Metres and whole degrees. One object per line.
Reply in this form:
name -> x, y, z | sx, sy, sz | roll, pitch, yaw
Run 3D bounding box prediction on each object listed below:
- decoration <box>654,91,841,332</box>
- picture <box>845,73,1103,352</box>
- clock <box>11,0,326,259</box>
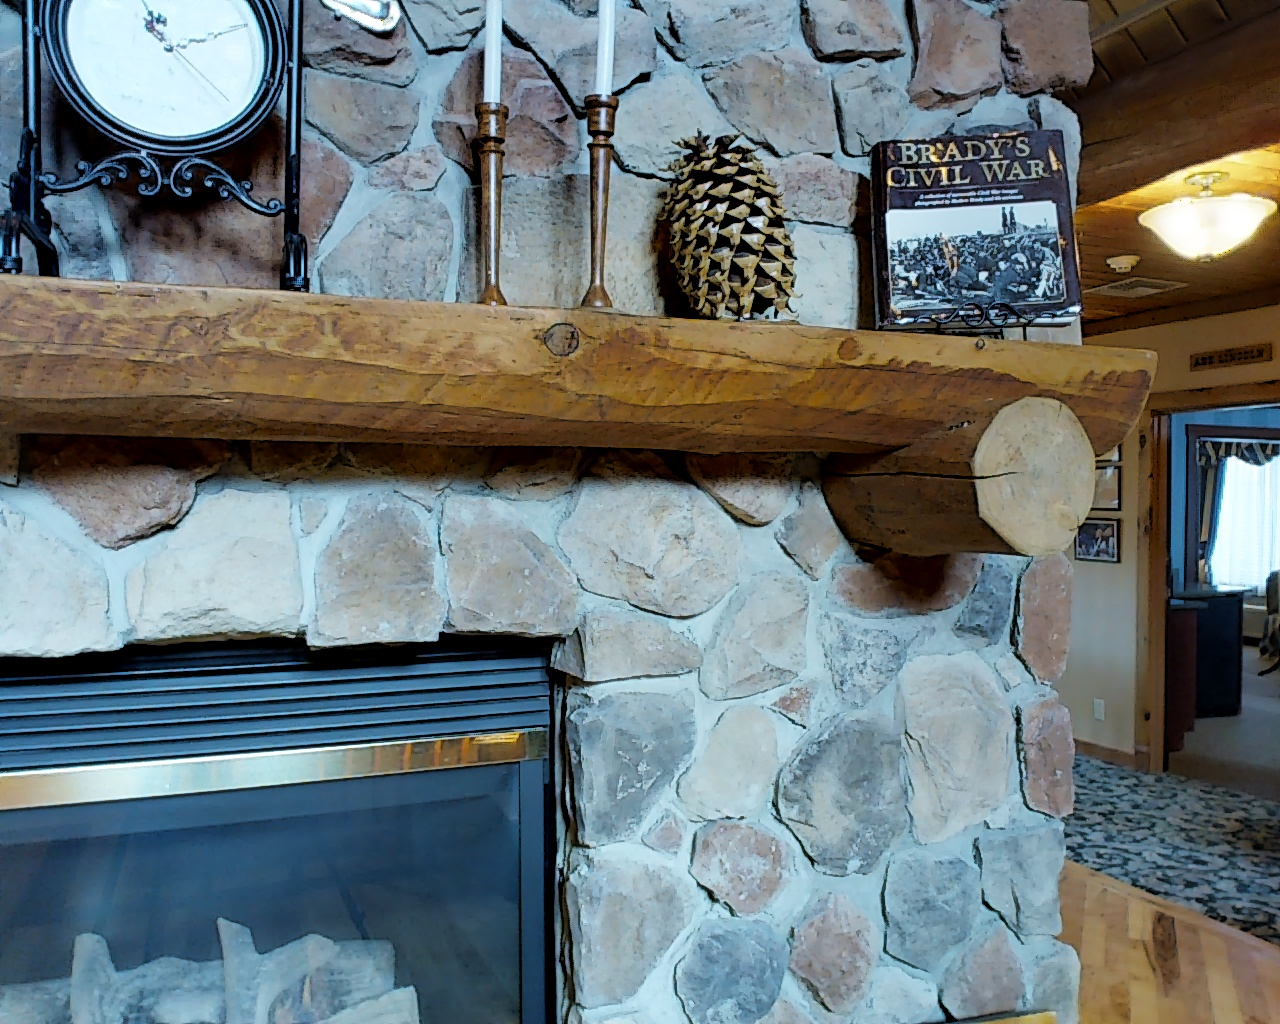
decoration -> 0.140, -0.390, 1.450 | 0.180, 0.260, 0.190 | -1, 1, -23
picture -> 0.480, -0.430, 1.560 | 0.280, 0.320, 0.090 | 15, -5, 1
clock -> -0.520, -0.470, 1.210 | 0.300, 0.310, 0.180 | -1, 1, -23
